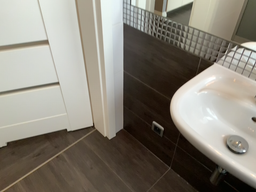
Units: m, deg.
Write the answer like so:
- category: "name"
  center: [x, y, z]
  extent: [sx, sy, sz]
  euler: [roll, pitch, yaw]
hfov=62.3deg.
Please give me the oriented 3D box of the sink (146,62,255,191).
- category: "sink"
  center: [0.360, 0.120, 0.660]
  extent: [0.360, 0.150, 0.480]
  euler: [-32, 52, -32]
